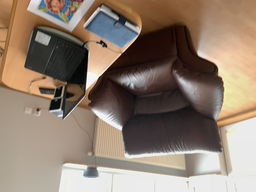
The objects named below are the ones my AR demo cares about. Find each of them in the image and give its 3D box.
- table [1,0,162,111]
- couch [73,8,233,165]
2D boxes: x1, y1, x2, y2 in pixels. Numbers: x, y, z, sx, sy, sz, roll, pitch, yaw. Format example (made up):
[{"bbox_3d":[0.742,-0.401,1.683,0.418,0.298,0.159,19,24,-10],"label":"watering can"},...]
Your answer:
[{"bbox_3d":[-0.360,-0.440,1.380,0.560,0.660,1.050,18,149,-29],"label":"table"},{"bbox_3d":[0.290,0.050,1.980,1.080,0.960,0.960,-10,151,21],"label":"couch"}]
